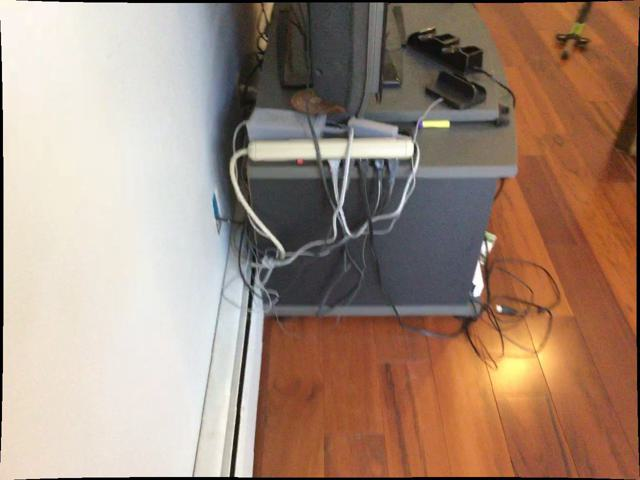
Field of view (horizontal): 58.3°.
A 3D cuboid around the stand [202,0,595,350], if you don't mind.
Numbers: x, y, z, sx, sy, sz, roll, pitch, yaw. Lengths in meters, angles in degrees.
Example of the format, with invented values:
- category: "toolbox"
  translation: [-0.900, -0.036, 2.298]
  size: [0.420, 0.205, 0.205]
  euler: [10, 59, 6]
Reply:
- category: "stand"
  translation: [0.130, -0.410, 1.690]
  size: [0.679, 0.630, 1.321]
  euler: [0, 43, -1]
